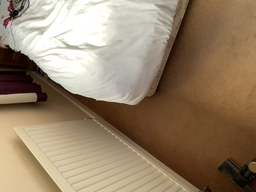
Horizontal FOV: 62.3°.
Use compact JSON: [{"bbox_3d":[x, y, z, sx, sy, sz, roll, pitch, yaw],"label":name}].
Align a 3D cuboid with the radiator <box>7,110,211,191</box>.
[{"bbox_3d":[-0.120,0.380,1.220,0.930,0.720,0.180,28,108,36],"label":"radiator"}]
